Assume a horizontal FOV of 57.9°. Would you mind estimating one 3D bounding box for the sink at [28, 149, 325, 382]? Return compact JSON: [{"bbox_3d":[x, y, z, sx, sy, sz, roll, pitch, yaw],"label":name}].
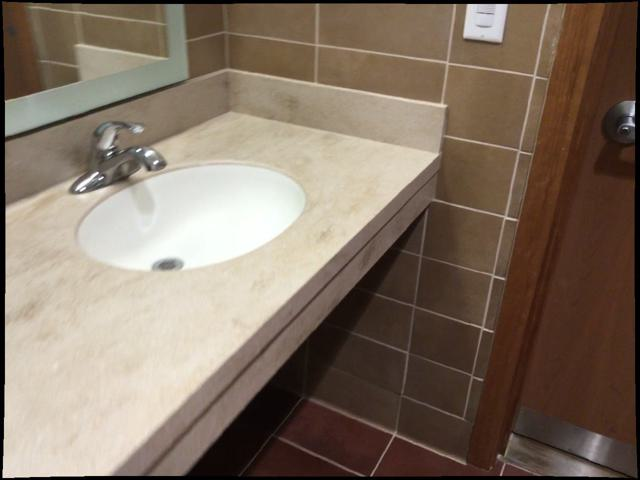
[{"bbox_3d":[-0.230,0.010,1.070,0.310,0.180,0.430,15,32,24],"label":"sink"}]
